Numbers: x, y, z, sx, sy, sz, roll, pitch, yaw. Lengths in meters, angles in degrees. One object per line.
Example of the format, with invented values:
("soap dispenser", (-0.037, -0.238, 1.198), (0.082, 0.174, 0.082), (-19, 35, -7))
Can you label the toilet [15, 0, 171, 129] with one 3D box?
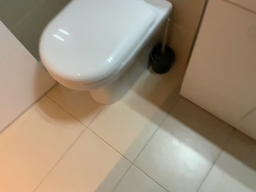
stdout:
("toilet", (-0.100, -0.200, 0.990), (0.340, 0.460, 0.510), (33, 75, 17))
